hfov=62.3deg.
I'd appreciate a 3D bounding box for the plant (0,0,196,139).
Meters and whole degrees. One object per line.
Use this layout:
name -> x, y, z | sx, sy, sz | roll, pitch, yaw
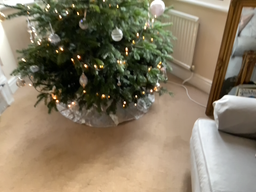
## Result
plant -> -0.290, -0.850, 1.810 | 1.510, 1.930, 1.300 | 4, 38, 7
